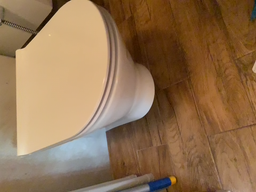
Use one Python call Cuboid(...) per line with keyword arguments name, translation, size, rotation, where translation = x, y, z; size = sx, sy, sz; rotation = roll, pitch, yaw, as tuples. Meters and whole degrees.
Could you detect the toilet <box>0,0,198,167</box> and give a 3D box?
Cuboid(name="toilet", translation=(-0.130, -0.020, 0.720), size=(0.500, 0.390, 0.370), rotation=(-27, 67, 37))
